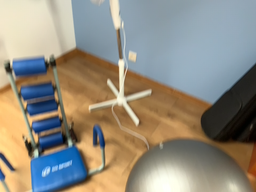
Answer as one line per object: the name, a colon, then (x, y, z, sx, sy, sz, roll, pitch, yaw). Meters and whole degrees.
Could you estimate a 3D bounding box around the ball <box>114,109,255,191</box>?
ball: (0.270, 0.500, 0.990, 0.550, 0.550, 0.600, -7, 42, -13)
